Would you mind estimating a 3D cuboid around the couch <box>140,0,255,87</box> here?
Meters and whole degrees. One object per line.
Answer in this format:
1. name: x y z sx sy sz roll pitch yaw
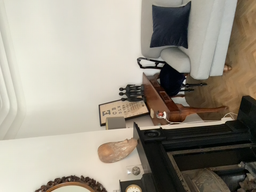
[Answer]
1. couch: 0.690 -1.220 2.310 1.120 0.810 1.930 -110 20 -62
